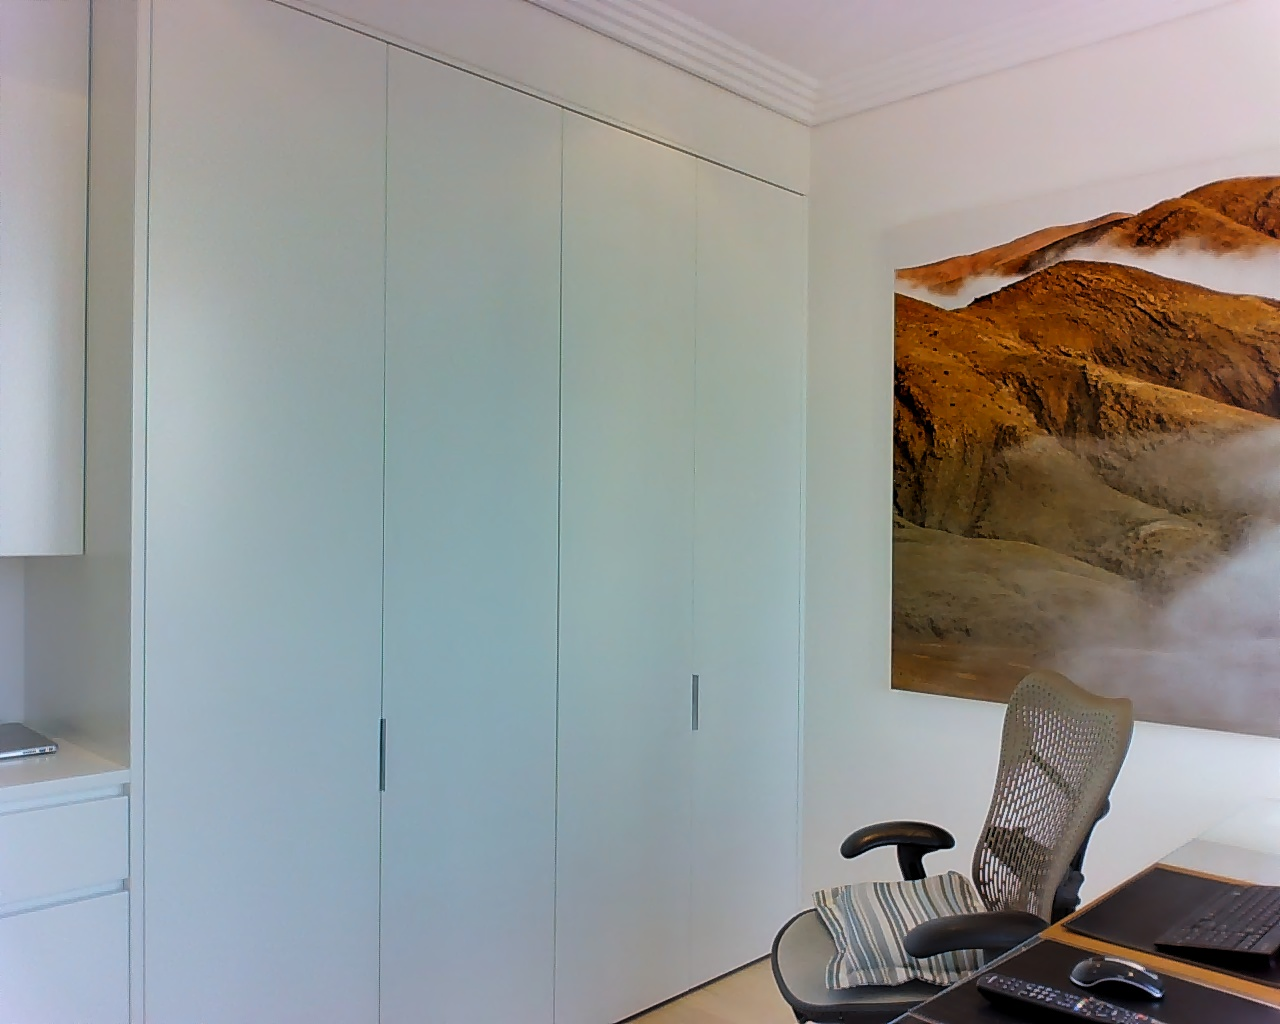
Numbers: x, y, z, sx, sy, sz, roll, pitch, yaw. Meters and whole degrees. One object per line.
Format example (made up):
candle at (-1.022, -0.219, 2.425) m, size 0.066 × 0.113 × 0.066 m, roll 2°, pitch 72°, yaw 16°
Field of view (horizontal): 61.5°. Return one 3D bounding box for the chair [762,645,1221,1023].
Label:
chair at (0.630, 0.820, 2.110) m, size 0.720 × 1.050 × 0.560 m, roll 0°, pitch 0°, yaw 0°

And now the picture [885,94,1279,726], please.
picture at (1.550, -0.240, 2.510) m, size 0.060 × 1.480 × 2.220 m, roll 0°, pitch 0°, yaw -45°
